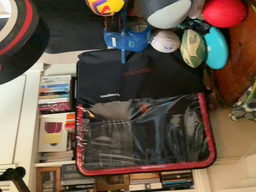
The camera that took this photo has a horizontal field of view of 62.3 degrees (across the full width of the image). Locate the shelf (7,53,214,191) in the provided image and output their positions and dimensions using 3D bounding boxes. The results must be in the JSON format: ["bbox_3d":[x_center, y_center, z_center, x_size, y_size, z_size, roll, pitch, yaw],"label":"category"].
[{"bbox_3d":[-0.110,0.650,1.480,1.310,2.030,0.270,-3,156,-3],"label":"shelf"}]
